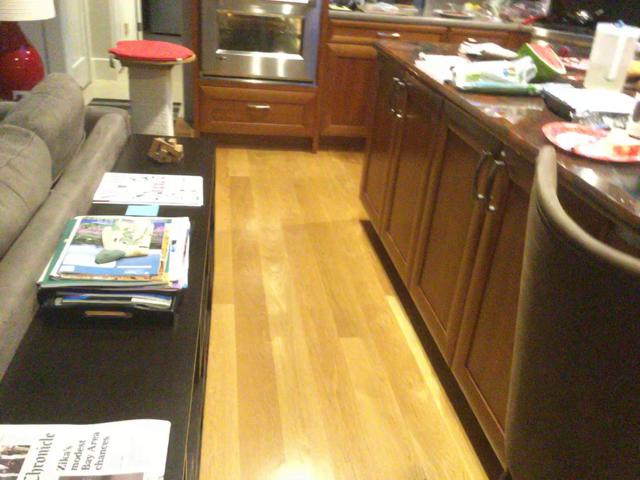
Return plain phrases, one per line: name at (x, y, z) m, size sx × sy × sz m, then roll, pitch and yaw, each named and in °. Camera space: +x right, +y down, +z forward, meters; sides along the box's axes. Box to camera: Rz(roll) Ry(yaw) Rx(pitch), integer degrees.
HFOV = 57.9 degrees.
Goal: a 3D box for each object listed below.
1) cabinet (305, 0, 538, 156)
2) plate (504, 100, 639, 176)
cabinet at (0.600, -1.020, 3.650) m, size 1.320 × 0.940 × 0.190 m, roll 0°, pitch 29°, yaw -9°
plate at (0.650, -0.250, 1.380) m, size 0.290 × 0.070 × 0.330 m, roll 0°, pitch 29°, yaw -9°
